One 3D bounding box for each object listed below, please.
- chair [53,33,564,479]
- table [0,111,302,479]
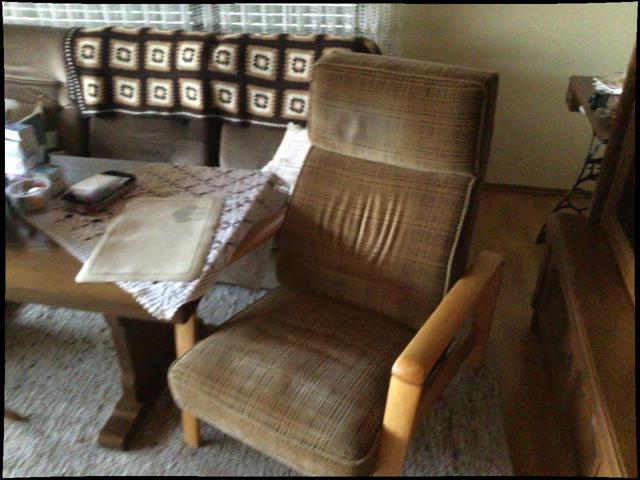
[{"bbox_3d":[0.060,0.090,1.620,0.799,1.021,0.980,17,36,26],"label":"chair"},{"bbox_3d":[-0.939,0.080,1.900,1.608,0.731,0.800,5,33,10],"label":"table"}]
